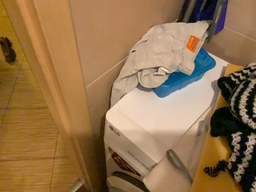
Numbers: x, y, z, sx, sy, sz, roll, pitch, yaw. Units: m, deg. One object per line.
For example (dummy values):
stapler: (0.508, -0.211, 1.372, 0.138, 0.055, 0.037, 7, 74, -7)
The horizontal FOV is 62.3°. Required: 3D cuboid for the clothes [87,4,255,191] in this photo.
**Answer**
clothes: (0.290, 0.080, 0.450, 0.530, 0.170, 0.500, 33, 57, 20)
